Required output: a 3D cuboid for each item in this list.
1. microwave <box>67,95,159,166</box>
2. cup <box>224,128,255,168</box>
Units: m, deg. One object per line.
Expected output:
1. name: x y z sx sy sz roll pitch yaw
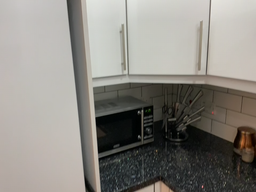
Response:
1. microwave: -0.090 0.180 1.310 0.480 0.250 0.280 -10 17 -30
2. cup: 0.690 0.290 1.110 0.130 0.120 0.310 -9 16 -29
